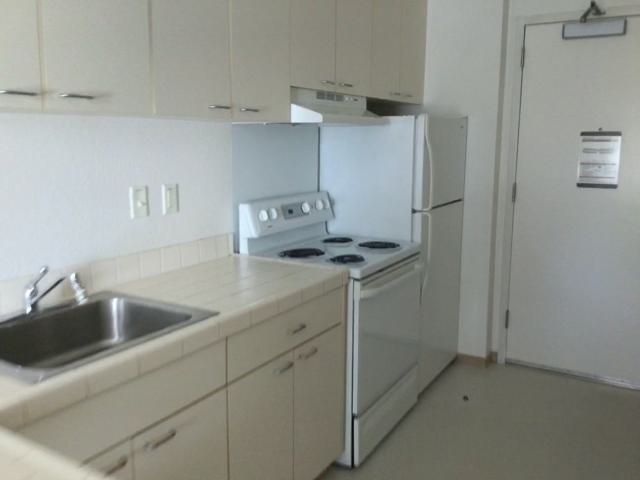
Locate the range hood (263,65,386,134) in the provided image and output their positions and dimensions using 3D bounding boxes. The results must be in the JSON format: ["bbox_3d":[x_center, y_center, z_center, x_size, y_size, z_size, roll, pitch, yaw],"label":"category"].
[{"bbox_3d":[0.050,-0.620,2.650,0.200,0.220,0.790,5,9,29],"label":"range hood"}]

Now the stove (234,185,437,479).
[{"bbox_3d":[0.100,0.350,2.870,0.690,1.200,0.780,5,9,29],"label":"stove"}]

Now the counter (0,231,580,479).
[{"bbox_3d":[-0.120,0.230,1.800,1.400,0.080,2.920,5,10,30],"label":"counter"}]
